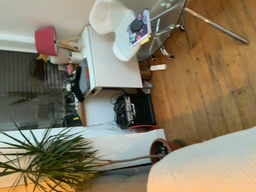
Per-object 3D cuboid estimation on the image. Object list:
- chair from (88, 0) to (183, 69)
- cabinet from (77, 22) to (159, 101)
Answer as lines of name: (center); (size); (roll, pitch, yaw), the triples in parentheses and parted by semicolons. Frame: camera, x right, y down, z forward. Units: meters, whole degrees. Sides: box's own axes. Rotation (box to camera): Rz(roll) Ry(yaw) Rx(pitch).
chair: (0.060, -0.640, 2.160); (0.450, 0.770, 0.530); (-36, 60, 54)
cabinet: (-0.140, -0.370, 2.520); (0.430, 0.750, 0.740); (-36, 60, 54)
